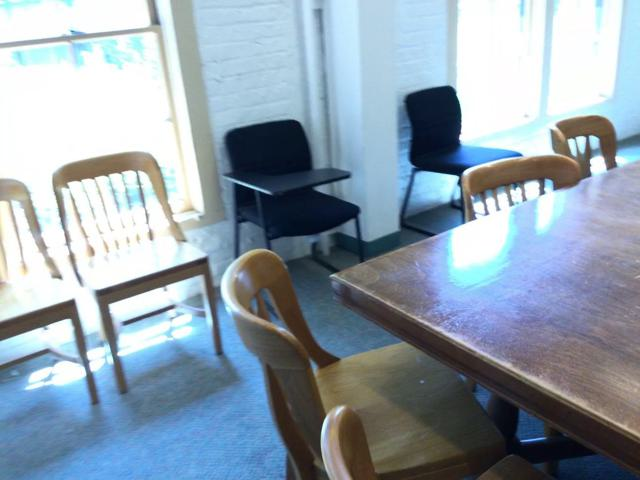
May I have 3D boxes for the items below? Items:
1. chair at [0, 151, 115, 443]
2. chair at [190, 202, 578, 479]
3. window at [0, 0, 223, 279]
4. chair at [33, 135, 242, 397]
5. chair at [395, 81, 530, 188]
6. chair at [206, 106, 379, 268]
[{"bbox_3d":[-1.250,0.180,2.250,0.500,0.880,0.720,-19,24,-31],"label":"chair"},{"bbox_3d":[0.130,0.430,1.420,0.610,0.820,0.630,-15,22,-23],"label":"chair"},{"bbox_3d":[-1.330,-0.440,2.370,1.730,1.120,0.300,-19,24,-31],"label":"window"},{"bbox_3d":[-0.760,0.060,2.440,0.530,0.860,0.590,-19,24,-31],"label":"chair"},{"bbox_3d":[0.810,-0.630,3.320,0.480,0.480,0.550,-19,24,-31],"label":"chair"},{"bbox_3d":[-0.130,-0.290,2.750,0.530,0.570,0.590,-19,24,-31],"label":"chair"}]
